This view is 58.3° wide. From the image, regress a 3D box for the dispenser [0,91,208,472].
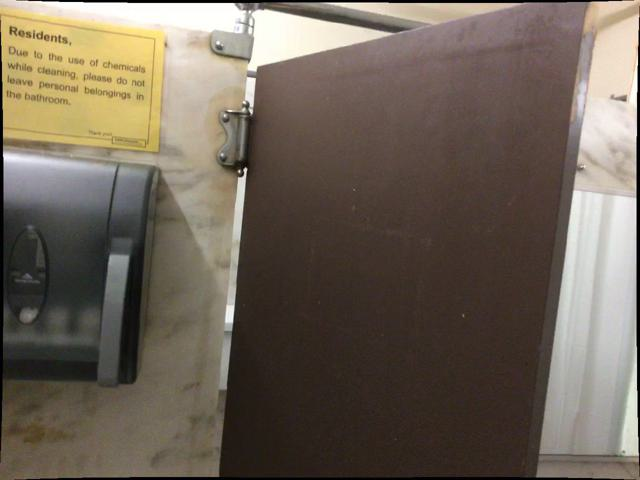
[{"bbox_3d":[-0.400,0.050,0.860,0.410,0.480,0.270,4,3,-15],"label":"dispenser"}]
